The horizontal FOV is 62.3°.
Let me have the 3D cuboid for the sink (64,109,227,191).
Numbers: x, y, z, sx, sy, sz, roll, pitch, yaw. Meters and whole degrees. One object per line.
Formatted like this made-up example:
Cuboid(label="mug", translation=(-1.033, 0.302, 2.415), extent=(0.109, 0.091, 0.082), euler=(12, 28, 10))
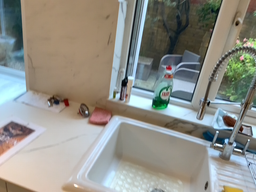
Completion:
Cuboid(label="sink", translation=(0.110, 0.350, 0.950), extent=(0.550, 0.220, 0.560), euler=(15, 27, 11))
